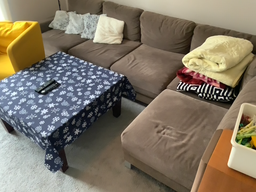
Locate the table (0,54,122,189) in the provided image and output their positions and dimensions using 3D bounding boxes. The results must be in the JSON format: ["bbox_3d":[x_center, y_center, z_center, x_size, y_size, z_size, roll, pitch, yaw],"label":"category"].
[{"bbox_3d":[-0.710,0.130,2.010,0.930,0.500,0.930,24,44,27],"label":"table"}]
